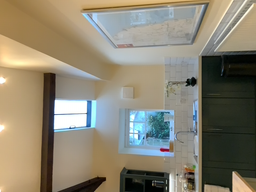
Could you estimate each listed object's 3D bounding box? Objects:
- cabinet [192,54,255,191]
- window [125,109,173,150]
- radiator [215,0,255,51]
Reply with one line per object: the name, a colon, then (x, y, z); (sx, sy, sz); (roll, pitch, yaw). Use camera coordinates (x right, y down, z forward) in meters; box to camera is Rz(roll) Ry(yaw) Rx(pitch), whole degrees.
cabinet: (1.510, 0.550, 3.250); (0.610, 0.920, 2.260); (13, -102, -79)
window: (0.450, 0.690, 4.480); (0.130, 0.980, 0.800); (18, -107, -79)
radiator: (1.240, -0.570, 1.760); (1.120, 0.750, 0.110); (9, -98, -80)
